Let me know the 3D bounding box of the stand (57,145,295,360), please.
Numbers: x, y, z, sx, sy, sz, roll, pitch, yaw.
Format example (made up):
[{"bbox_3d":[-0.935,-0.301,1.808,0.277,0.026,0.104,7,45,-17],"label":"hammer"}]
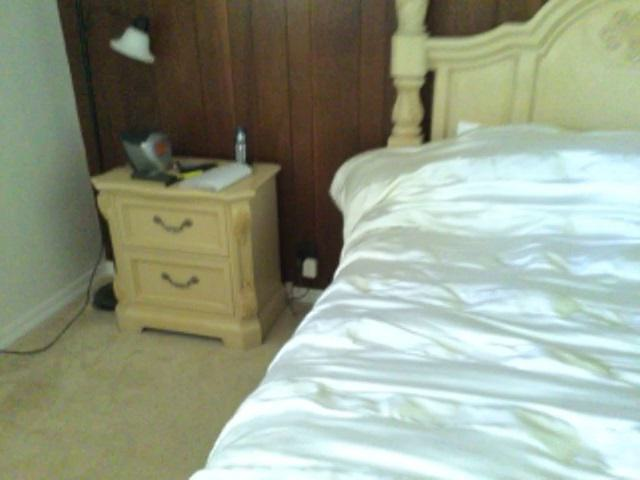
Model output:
[{"bbox_3d":[-0.580,0.020,2.540,0.770,0.740,0.510,4,24,17],"label":"stand"}]
